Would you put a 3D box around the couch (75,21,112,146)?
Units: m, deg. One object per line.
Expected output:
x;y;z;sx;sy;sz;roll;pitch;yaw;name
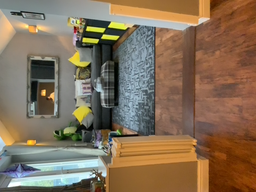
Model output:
-0.930;-0.270;5.460;1.190;0.730;2.820;180;91;-72;couch
